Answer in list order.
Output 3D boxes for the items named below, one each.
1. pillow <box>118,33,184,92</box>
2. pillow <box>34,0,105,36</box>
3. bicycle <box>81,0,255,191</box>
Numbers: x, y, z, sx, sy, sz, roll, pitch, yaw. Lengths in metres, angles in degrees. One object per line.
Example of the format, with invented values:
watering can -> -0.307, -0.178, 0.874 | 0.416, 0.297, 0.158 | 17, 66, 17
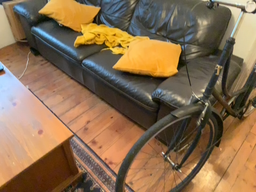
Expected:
pillow -> 0.190, -0.280, 1.690 | 0.460, 0.190, 0.440 | 8, 45, 6
pillow -> -0.570, -0.860, 2.150 | 0.490, 0.200, 0.460 | 22, 48, 19
bicycle -> 0.770, -0.130, 1.440 | 2.170, 1.070, 0.310 | -30, 53, -29
